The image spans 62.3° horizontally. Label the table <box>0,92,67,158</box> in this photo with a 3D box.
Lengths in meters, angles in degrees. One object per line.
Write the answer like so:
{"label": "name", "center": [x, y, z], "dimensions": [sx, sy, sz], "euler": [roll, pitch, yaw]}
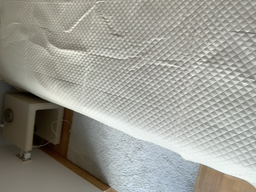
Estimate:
{"label": "table", "center": [-0.890, 0.230, 1.950], "dimensions": [0.500, 0.330, 0.420], "euler": [17, 101, 33]}
